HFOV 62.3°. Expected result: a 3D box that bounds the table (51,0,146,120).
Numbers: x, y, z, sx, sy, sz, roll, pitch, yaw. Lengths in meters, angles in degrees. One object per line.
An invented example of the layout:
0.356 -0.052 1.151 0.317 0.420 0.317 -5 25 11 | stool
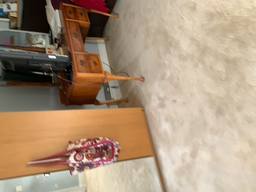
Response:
-0.450 -0.430 2.610 0.760 0.750 1.170 -57 43 46 | table
